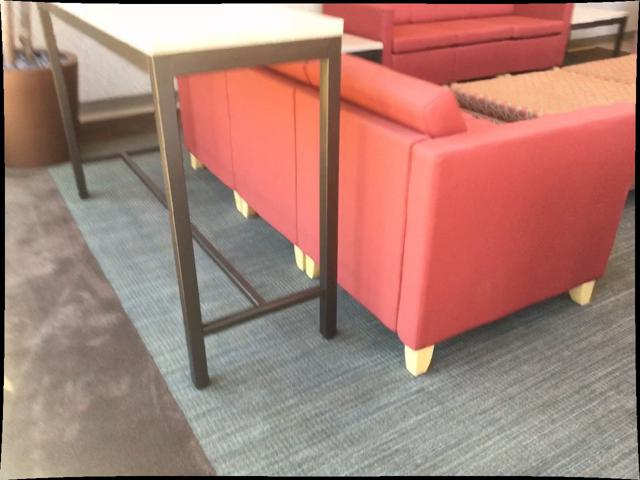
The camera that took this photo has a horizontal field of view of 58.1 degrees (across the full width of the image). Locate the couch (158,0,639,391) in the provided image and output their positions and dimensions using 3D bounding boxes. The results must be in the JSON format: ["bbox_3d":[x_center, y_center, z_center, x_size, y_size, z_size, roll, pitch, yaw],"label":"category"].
[{"bbox_3d":[0.120,-0.431,2.280,0.879,0.801,1.870,-15,32,-27],"label":"couch"}]

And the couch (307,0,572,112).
[{"bbox_3d":[0.948,-1.613,4.540,1.938,0.761,0.840,-16,32,-28],"label":"couch"}]
